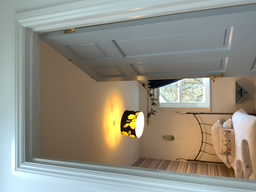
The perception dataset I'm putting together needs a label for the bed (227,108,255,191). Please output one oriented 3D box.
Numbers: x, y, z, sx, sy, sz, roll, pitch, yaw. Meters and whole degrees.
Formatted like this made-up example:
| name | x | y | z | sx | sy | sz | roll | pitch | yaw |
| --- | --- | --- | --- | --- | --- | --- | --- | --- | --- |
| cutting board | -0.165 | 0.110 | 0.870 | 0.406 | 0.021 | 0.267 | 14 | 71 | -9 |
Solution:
| name | x | y | z | sx | sy | sz | roll | pitch | yaw |
| --- | --- | --- | --- | --- | --- | --- | --- | --- | --- |
| bed | 1.850 | 0.750 | 3.040 | 2.090 | 0.590 | 1.060 | 4 | -93 | -70 |
